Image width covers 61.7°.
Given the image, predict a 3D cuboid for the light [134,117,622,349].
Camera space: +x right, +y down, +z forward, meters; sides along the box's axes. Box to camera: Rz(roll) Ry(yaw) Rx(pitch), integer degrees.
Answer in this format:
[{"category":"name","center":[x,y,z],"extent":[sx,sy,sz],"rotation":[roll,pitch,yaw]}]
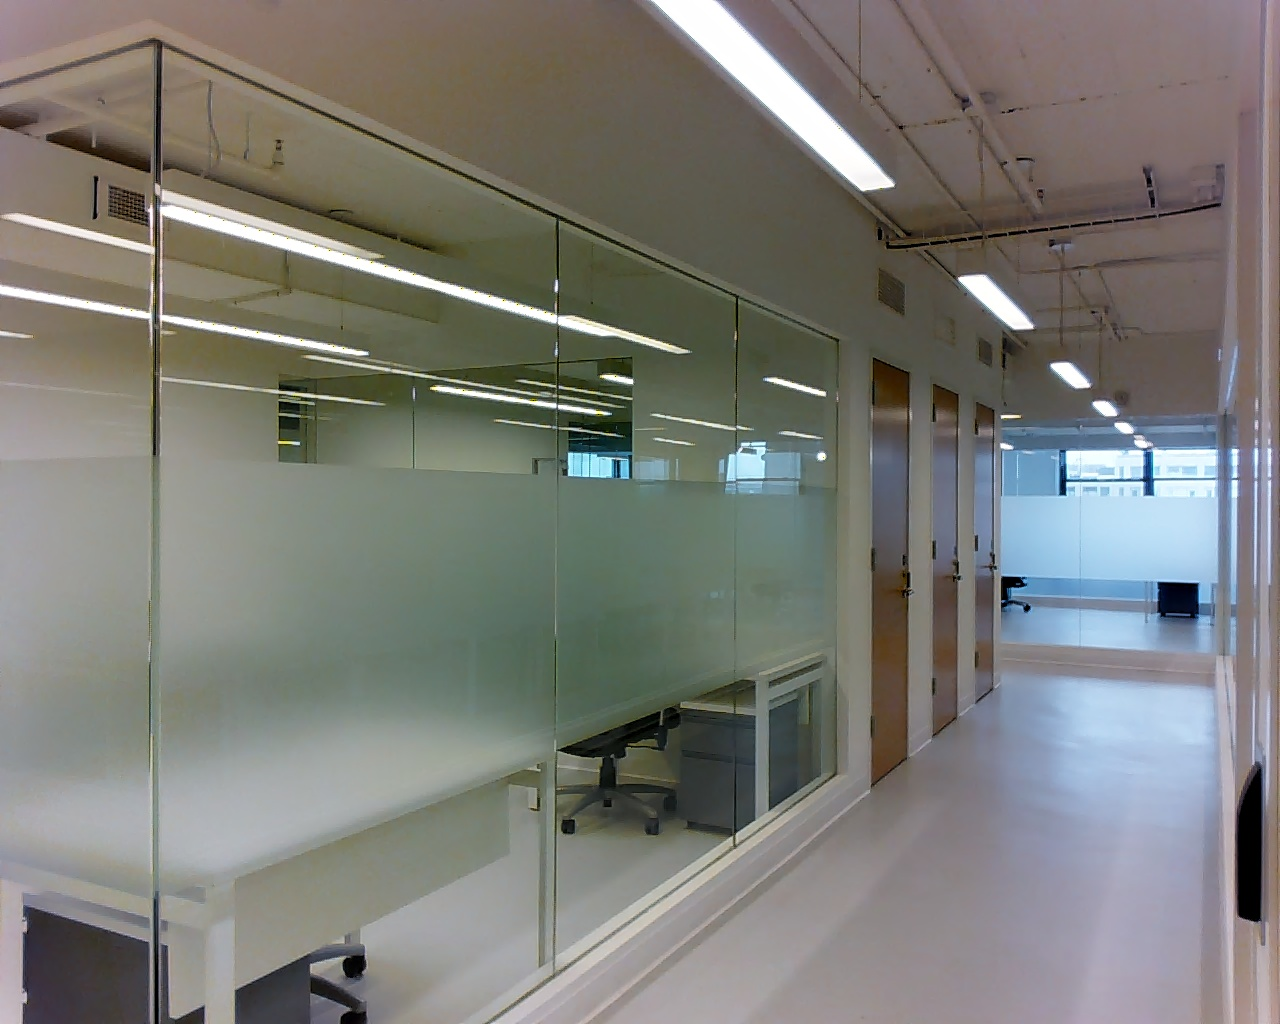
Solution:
[{"category":"light","center":[-0.730,-0.910,3.970],"extent":[0.170,0.270,2.470],"rotation":[0,0,27]}]

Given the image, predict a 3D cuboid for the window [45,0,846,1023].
[{"category":"window","center":[-0.020,-0.020,3.560],"extent":[0.280,2.901,3.920],"rotation":[0,0,27]}]

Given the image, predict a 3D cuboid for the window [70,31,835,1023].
[{"category":"window","center":[-0.010,0.260,3.480],"extent":[0.140,2.080,3.850],"rotation":[0,0,27]}]

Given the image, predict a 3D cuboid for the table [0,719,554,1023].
[{"category":"table","center":[-0.910,1.060,2.780],"extent":[0.790,0.750,1.320],"rotation":[0,0,27]}]

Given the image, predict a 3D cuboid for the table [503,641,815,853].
[{"category":"table","center":[0.110,1.080,5.230],"extent":[1.240,0.730,0.920],"rotation":[0,0,27]}]
